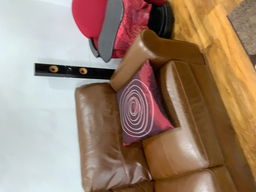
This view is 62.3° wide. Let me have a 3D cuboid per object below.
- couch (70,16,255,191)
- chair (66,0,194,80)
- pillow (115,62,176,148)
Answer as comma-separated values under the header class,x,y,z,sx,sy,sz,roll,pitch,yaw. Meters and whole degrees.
class,x,y,z,sx,sy,sz,roll,pitch,yaw
couch,0.210,0.580,1.500,0.960,0.840,1.910,-46,50,52
chair,-0.060,-0.690,2.040,0.740,0.820,0.750,59,138,44
pillow,0.090,0.080,1.520,0.420,0.140,0.470,-47,50,51
